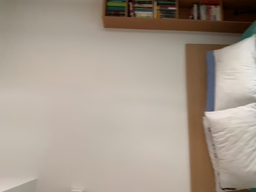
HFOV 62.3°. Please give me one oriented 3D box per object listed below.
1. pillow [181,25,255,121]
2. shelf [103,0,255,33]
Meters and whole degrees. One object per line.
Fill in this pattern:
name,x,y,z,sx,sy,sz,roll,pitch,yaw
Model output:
pillow,0.940,-0.210,1.920,0.630,0.600,0.250,-28,-15,-7
shelf,0.720,-0.930,2.360,1.950,0.310,0.210,3,-13,0
